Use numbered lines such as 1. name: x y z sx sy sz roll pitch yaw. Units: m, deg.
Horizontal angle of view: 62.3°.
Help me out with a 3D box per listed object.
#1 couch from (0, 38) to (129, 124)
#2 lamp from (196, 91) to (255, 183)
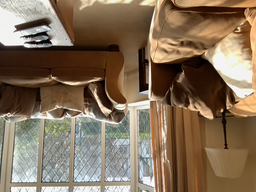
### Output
1. couch: -0.850 -0.110 2.680 1.660 0.850 0.990 0 170 -3
2. lamp: 1.040 0.410 2.230 0.470 0.860 0.390 -1 170 0
